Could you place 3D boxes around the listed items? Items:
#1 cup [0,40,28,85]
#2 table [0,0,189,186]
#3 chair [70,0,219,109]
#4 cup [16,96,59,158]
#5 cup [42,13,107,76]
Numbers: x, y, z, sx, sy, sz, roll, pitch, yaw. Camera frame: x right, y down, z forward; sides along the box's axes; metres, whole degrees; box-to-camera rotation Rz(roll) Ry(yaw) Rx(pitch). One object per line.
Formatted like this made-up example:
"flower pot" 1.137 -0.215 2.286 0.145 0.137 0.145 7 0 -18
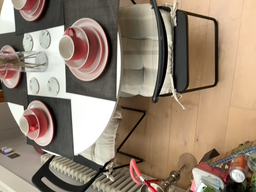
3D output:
"cup" -0.740 -0.200 1.280 0.270 0.110 0.240 6 101 34
"table" -0.240 -0.240 1.440 1.010 0.750 1.070 10 103 33
"chair" 0.160 -0.250 1.160 0.490 0.740 0.480 2 99 34
"cup" -0.500 0.160 1.170 0.220 0.090 0.300 5 101 34
"cup" -0.230 -0.210 0.910 0.250 0.130 0.230 7 102 33
